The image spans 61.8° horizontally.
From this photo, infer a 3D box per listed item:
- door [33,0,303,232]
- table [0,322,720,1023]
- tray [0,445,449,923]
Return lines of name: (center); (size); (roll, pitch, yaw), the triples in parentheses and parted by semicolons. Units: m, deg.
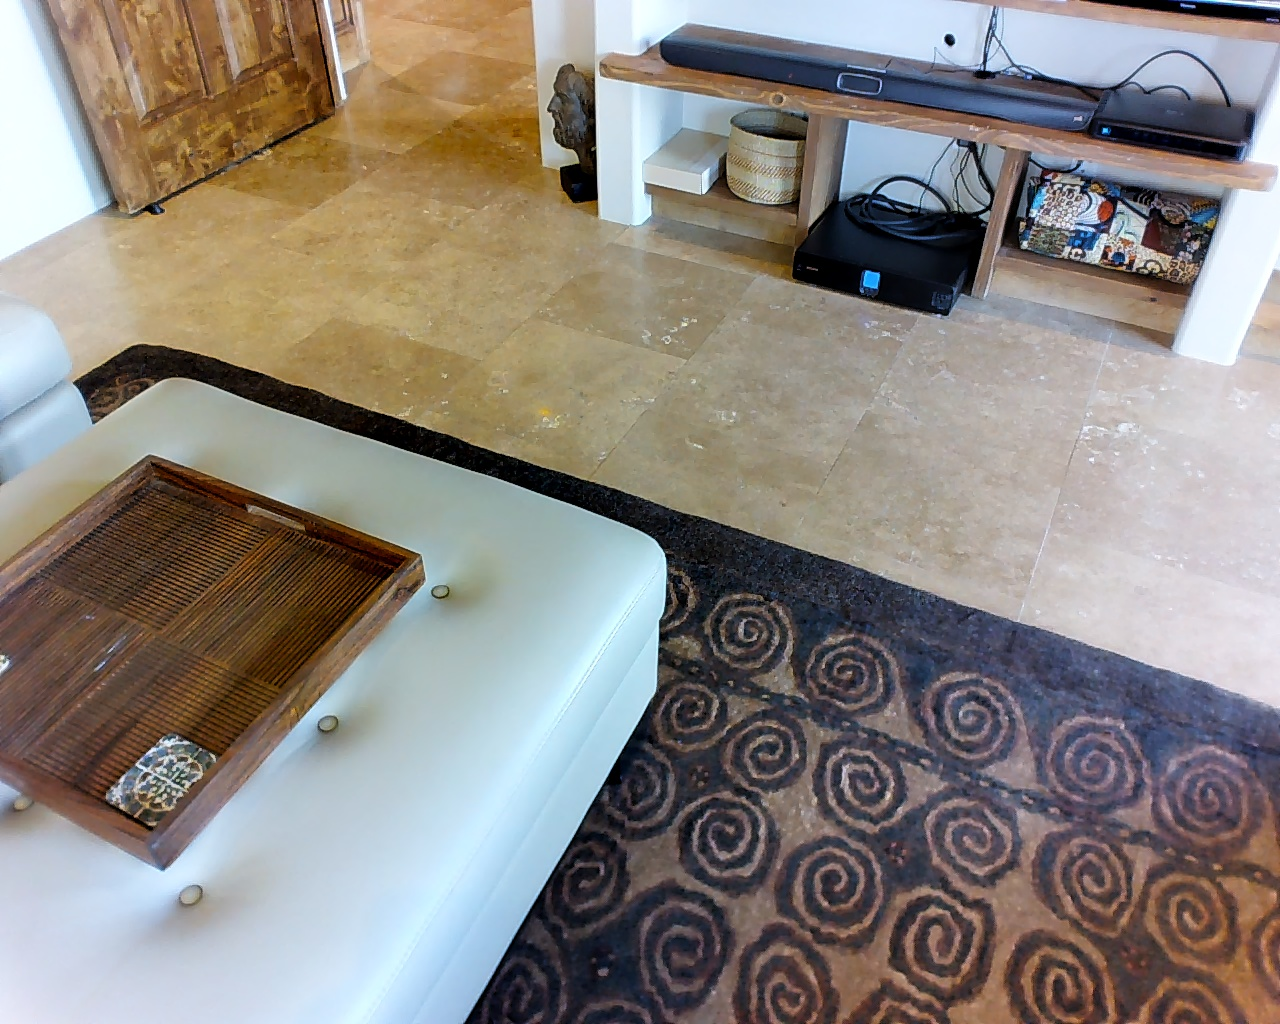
door: (-1.370, -1.880, 2.720); (0.100, 2.180, 0.730); (19, 45, 21)
table: (-0.580, 0.330, 1.430); (1.030, 0.510, 1.030); (18, 44, 19)
tray: (-0.590, 0.150, 1.270); (0.520, 0.050, 0.510); (18, 44, 19)
